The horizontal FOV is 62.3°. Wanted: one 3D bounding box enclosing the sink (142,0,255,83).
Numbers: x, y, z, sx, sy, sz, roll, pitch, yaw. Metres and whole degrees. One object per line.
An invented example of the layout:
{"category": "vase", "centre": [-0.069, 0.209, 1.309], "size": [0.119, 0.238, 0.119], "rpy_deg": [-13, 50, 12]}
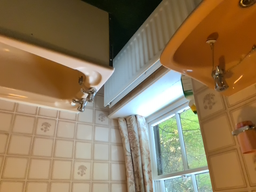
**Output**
{"category": "sink", "centre": [0.380, -0.290, 0.640], "size": [0.430, 0.190, 0.540], "rpy_deg": [12, 149, -28]}
